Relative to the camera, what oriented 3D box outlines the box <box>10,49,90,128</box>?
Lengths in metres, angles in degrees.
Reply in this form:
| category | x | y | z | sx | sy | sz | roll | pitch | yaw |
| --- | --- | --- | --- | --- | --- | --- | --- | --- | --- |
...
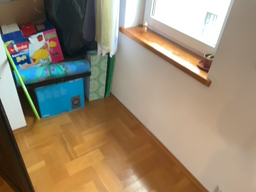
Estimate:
| category | x | y | z | sx | sy | sz | roll | pitch | yaw |
| --- | --- | --- | --- | --- | --- | --- | --- | --- | --- |
| box | -0.720 | -0.090 | 2.060 | 0.580 | 0.530 | 0.350 | -20 | 45 | -30 |
